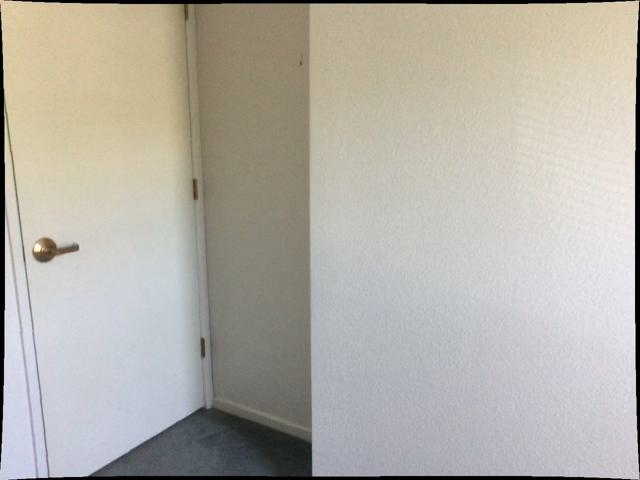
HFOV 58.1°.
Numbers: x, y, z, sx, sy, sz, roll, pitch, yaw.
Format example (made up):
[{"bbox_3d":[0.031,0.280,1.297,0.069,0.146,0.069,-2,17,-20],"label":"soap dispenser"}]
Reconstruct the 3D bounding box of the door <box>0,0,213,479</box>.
[{"bbox_3d":[-0.809,-0.210,2.210,0.110,2.324,0.960,10,16,31],"label":"door"}]
